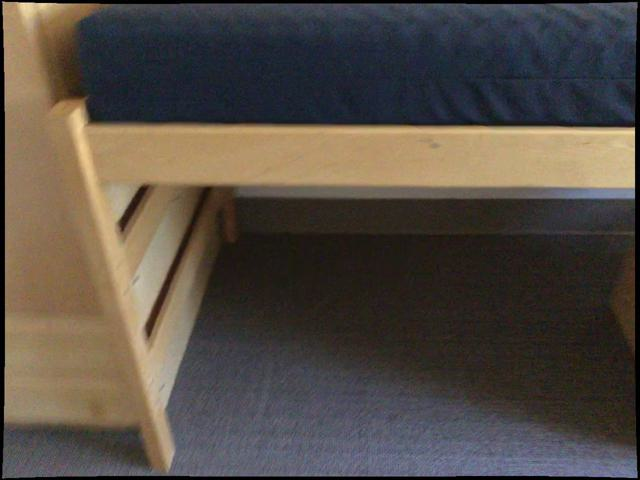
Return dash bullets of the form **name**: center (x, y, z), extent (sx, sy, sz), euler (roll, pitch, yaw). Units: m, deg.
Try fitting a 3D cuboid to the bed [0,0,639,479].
- **bed**: center (0.658, -0.160, 1.490), extent (2.254, 1.122, 1.131), euler (0, 36, 6)
